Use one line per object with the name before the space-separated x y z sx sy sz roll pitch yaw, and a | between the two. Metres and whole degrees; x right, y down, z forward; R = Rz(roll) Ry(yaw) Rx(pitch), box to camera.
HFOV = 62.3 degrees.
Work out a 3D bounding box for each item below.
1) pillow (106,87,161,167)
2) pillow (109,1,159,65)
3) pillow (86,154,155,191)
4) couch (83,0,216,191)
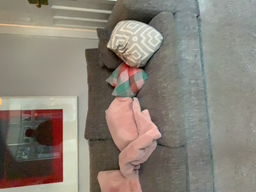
pillow | 0.010 0.250 1.820 0.500 0.280 0.440 -111 26 -48
pillow | 0.030 -0.470 1.670 0.340 0.270 0.350 147 121 -70
pillow | -0.080 0.810 1.870 0.410 0.460 0.220 -66 11 -13
couch | 0.070 0.340 1.930 1.050 0.810 2.340 159 109 -72
